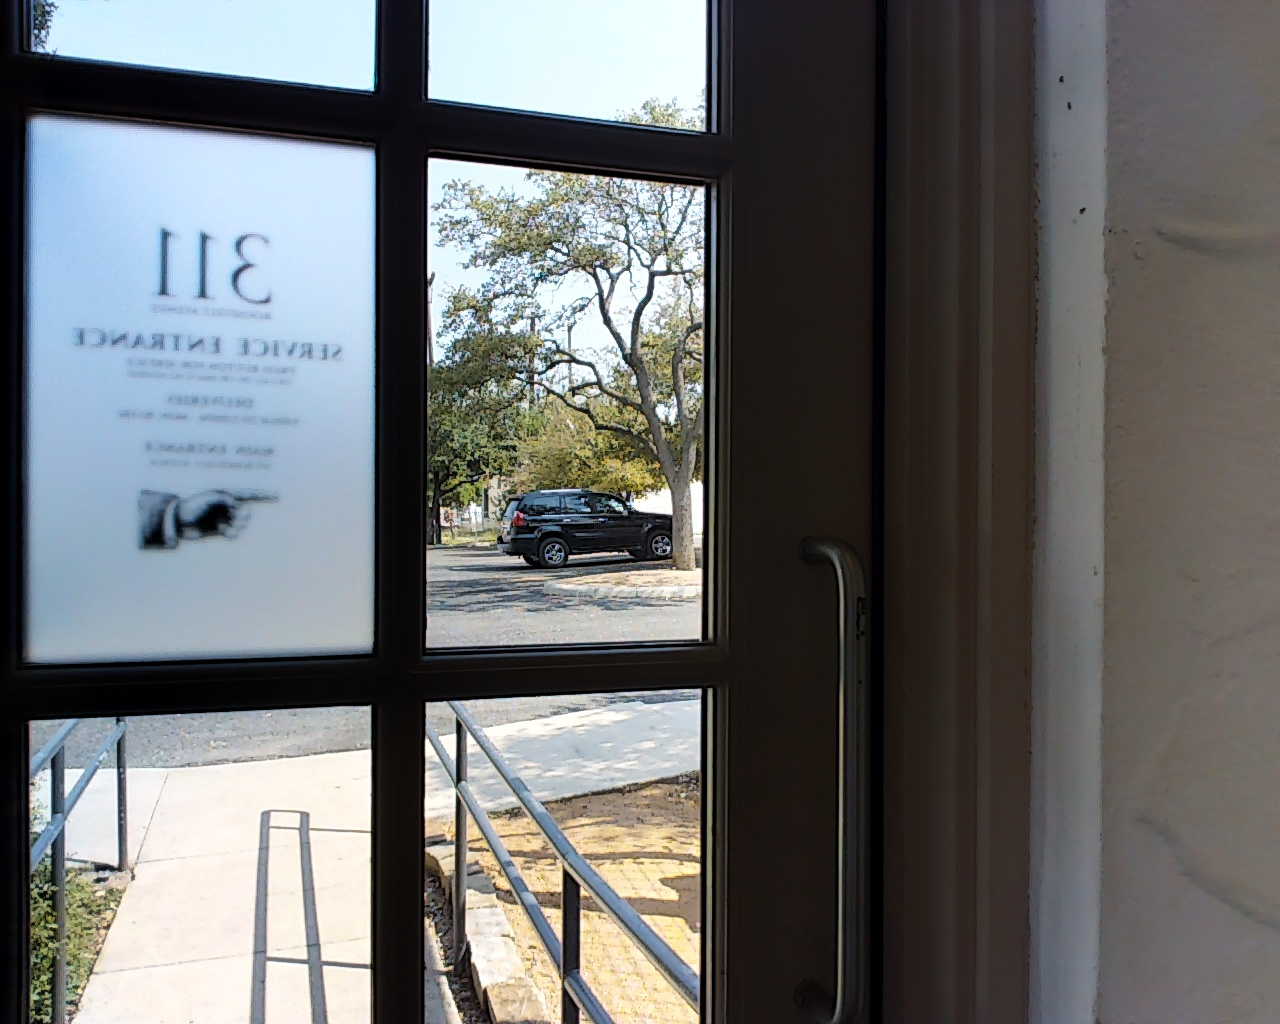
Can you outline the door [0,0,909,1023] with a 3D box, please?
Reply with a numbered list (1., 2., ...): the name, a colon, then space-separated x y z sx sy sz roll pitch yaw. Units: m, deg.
1. door: -0.250 0.350 0.620 0.870 2.150 0.080 0 0 -19
